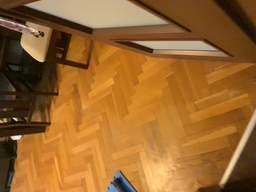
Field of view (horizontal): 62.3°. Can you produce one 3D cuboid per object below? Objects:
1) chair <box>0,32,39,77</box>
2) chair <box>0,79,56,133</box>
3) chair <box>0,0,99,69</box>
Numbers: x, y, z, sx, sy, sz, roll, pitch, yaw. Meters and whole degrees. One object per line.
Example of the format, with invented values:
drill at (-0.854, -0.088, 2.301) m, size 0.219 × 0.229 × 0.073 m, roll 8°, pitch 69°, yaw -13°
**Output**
chair at (-1.590, -0.510, 2.320) m, size 0.460 × 0.980 × 0.380 m, roll 30°, pitch 108°, yaw 36°
chair at (-1.300, 0.080, 2.060) m, size 0.460 × 0.980 × 0.380 m, roll 27°, pitch 106°, yaw 37°
chair at (-0.820, -0.590, 1.680) m, size 0.510 × 0.980 × 0.530 m, roll 27°, pitch 106°, yaw 37°
